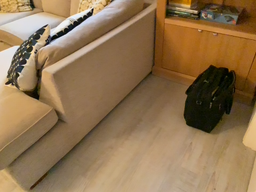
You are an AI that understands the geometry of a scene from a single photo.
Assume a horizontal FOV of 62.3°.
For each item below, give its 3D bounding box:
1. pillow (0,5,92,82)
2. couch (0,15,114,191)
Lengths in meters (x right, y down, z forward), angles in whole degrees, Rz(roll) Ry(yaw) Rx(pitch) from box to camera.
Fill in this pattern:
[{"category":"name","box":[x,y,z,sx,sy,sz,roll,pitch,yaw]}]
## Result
[{"category":"pillow","box":[-0.550,-0.360,1.430,0.400,0.130,0.550,-25,20,44]},{"category":"couch","box":[-0.730,-0.040,1.460,0.910,0.610,0.810,23,47,27]}]
